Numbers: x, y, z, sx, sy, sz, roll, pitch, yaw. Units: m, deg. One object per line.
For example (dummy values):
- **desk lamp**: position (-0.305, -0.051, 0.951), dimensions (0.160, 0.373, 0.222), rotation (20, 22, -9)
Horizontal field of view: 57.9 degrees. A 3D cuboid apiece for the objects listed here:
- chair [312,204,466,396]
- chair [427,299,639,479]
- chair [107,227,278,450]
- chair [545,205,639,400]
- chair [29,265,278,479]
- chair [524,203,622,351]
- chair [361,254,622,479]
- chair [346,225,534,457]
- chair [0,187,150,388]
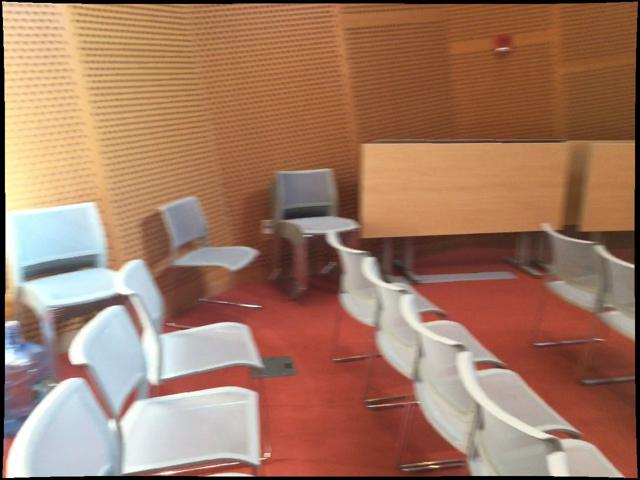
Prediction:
- **chair**: position (0.360, 0.280, 3.060), dimensions (0.550, 0.731, 0.590), rotation (-13, 22, -22)
- **chair**: position (0.699, 0.671, 1.690), dimensions (0.569, 0.691, 0.700), rotation (-7, 20, -5)
- **chair**: position (-0.529, 0.390, 2.510), dimensions (0.549, 0.681, 0.580), rotation (-8, 20, -9)
- **chair**: position (1.618, 0.300, 2.850), dimensions (0.510, 0.681, 0.830), rotation (-11, 21, -15)
- **chair**: position (-0.470, 0.561, 1.940), dimensions (0.589, 0.701, 0.640), rotation (-6, 20, -5)
- **chair**: position (1.379, 0.190, 3.210), dimensions (0.160, 0.671, 0.500), rotation (-12, 21, -18)
- **chair**: position (0.559, 0.561, 2.140), dimensions (0.639, 0.741, 0.710), rotation (-7, 20, -6)
- **chair**: position (0.499, 0.410, 2.600), dimensions (0.589, 0.721, 0.650), rotation (-8, 20, -8)
- **chair**: position (-1.279, 0.210, 2.970), dimensions (0.490, 0.801, 0.510), rotation (-19, 25, -34)
